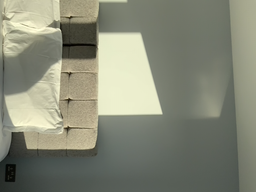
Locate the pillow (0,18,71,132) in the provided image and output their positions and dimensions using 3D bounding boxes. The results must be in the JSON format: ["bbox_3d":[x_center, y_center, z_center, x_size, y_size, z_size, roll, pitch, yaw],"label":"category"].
[{"bbox_3d":[-0.740,-0.140,1.670,0.170,0.500,0.830,156,-64,-67],"label":"pillow"}]
